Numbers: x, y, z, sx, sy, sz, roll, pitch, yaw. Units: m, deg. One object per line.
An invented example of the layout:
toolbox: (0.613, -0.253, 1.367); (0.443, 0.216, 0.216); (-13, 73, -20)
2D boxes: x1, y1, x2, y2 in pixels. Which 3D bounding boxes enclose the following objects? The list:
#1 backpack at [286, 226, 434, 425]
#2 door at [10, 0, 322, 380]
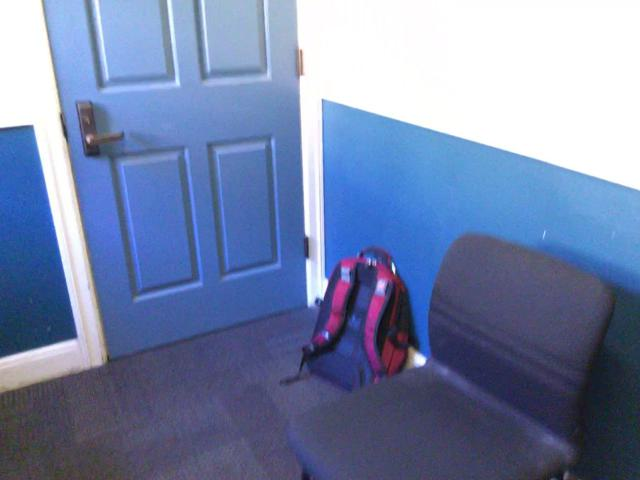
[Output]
backpack: (0.130, 0.290, 2.170); (0.330, 0.520, 0.490); (-10, 22, -25)
door: (-0.490, -0.420, 2.170); (1.050, 1.810, 0.110); (-11, 22, -25)
